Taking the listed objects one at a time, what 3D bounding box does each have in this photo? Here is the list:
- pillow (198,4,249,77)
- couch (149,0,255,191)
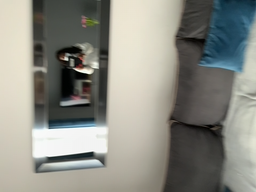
[{"bbox_3d":[0.630,-0.360,1.410,0.110,0.270,0.420,-77,-23,-64],"label":"pillow"},{"bbox_3d":[0.790,0.030,1.470,1.070,0.830,2.510,-143,54,-72],"label":"couch"}]
